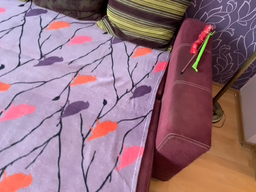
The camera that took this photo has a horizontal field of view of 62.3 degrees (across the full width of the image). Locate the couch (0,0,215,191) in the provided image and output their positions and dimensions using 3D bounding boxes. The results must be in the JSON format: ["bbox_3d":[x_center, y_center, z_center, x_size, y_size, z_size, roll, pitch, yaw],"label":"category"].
[{"bbox_3d":[-0.860,-0.210,1.250,2.530,0.630,1.550,18,51,-1],"label":"couch"}]

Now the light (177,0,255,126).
[{"bbox_3d":[0.830,-0.380,1.350,0.450,1.490,0.350,17,51,-2],"label":"light"}]

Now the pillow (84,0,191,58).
[{"bbox_3d":[0.060,-0.620,1.450,0.510,0.500,0.220,33,45,-17],"label":"pillow"}]
